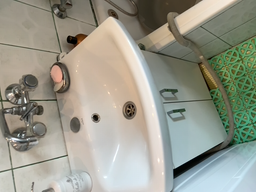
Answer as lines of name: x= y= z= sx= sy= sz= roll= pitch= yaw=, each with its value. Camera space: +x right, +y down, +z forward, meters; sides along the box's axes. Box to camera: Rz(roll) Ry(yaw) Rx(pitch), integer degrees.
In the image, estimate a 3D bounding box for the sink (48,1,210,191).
sink: x=-0.030 y=0.050 z=0.720 sx=0.370 sy=0.210 sz=0.530 roll=-27 pitch=74 yaw=36
